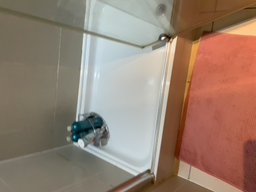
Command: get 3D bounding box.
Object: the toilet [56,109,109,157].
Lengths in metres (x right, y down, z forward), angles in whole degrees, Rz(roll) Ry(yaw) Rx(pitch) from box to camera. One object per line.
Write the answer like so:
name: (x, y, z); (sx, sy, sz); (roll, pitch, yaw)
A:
toilet: (-0.320, 0.250, 1.490); (0.230, 0.220, 0.200); (40, 115, 30)
